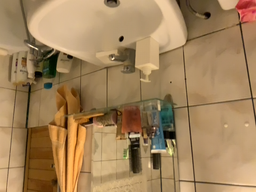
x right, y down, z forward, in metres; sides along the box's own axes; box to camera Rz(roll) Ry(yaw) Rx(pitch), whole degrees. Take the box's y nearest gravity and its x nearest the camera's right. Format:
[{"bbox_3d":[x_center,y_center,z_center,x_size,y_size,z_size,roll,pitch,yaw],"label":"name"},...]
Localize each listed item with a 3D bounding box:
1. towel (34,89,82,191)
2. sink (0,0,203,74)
[{"bbox_3d":[-0.360,0.290,1.090,0.230,0.610,0.100,-11,165,38],"label":"towel"},{"bbox_3d":[-0.100,-0.290,0.780,0.580,0.200,0.460,-10,165,37],"label":"sink"}]
